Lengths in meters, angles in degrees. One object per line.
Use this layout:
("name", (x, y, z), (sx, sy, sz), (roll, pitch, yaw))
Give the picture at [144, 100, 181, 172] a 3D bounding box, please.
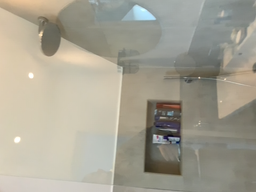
("picture", (0.290, 0.320, 1.760), (0.050, 0.280, 0.570), (70, -157, -72))
